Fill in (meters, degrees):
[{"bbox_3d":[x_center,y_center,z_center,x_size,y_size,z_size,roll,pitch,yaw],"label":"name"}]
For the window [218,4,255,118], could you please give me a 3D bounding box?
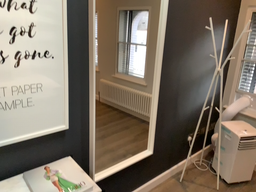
[{"bbox_3d":[1.510,-0.350,2.340,0.040,1.240,0.840,-11,23,-36],"label":"window"}]
